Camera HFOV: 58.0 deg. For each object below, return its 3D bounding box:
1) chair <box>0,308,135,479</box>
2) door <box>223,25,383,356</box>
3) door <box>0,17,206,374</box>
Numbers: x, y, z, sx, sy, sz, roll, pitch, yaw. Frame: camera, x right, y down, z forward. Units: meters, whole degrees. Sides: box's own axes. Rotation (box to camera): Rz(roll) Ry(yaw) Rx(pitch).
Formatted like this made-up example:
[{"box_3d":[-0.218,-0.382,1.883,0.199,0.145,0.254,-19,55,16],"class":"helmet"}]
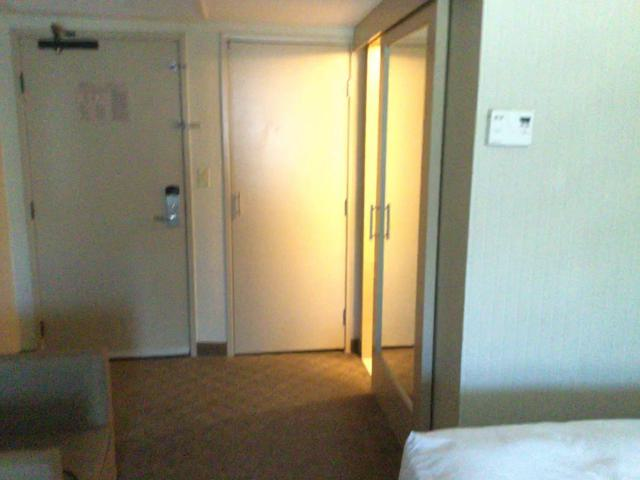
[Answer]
[{"box_3d":[-1.090,0.730,1.750,0.880,0.820,0.820,0,10,-9],"class":"chair"},{"box_3d":[-0.130,-0.270,3.540,0.900,1.900,0.310,0,10,-9],"class":"door"},{"box_3d":[-1.270,-0.230,3.520,1.100,2.050,0.250,0,10,-9],"class":"door"}]
